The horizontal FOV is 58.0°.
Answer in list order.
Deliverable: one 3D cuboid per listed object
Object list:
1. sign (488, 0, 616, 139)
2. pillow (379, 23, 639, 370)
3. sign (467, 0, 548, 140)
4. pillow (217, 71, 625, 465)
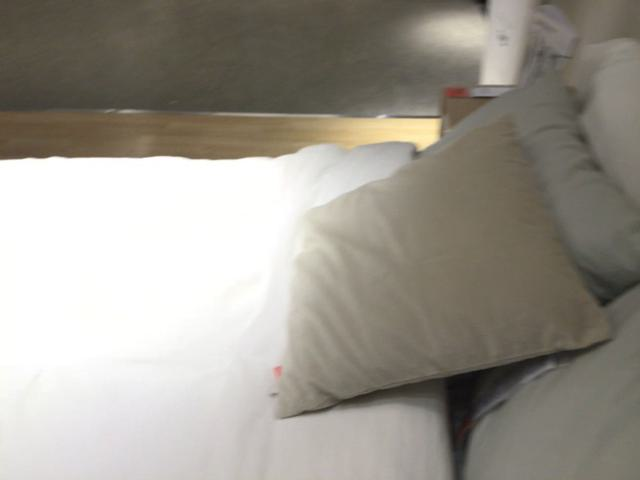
[{"bbox_3d":[0.610,-0.480,1.580,0.210,0.270,0.330,4,37,5],"label":"sign"},{"bbox_3d":[0.330,-0.130,1.120,0.410,0.140,0.690,-32,27,27],"label":"pillow"},{"bbox_3d":[0.680,-0.880,2.080,0.110,0.810,0.660,4,37,5],"label":"sign"},{"bbox_3d":[0.130,0.020,0.900,0.460,0.170,0.510,-26,29,24],"label":"pillow"}]
